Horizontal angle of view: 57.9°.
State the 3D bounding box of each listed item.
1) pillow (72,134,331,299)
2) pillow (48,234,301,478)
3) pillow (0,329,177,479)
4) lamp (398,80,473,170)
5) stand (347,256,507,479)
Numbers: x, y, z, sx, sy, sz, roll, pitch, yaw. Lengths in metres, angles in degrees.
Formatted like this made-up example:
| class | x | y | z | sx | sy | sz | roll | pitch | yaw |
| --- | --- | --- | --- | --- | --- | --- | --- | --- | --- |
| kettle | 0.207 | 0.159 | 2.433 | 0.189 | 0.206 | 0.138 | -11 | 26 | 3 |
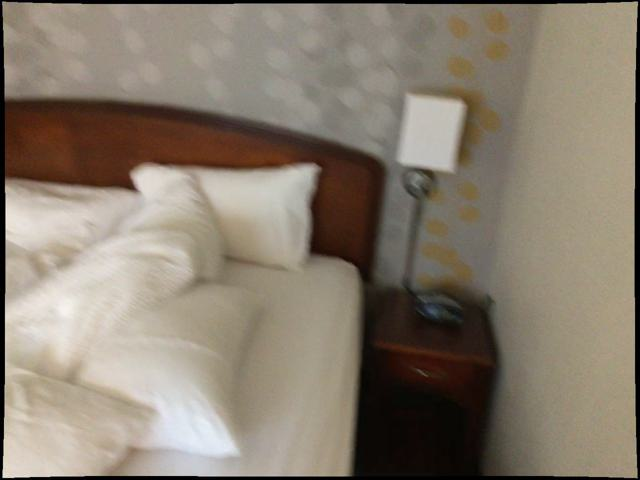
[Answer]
| class | x | y | z | sx | sy | sz | roll | pitch | yaw |
| --- | --- | --- | --- | --- | --- | --- | --- | --- | --- |
| pillow | -0.380 | -0.110 | 2.060 | 0.759 | 0.340 | 0.490 | 8 | 24 | 5 |
| pillow | -0.300 | 0.230 | 1.460 | 0.380 | 0.190 | 0.700 | 8 | 24 | 5 |
| pillow | -0.569 | 0.390 | 1.050 | 0.470 | 0.200 | 0.460 | 8 | 24 | 5 |
| lamp | 0.400 | -0.410 | 2.040 | 0.210 | 0.250 | 0.220 | 8 | 24 | 5 |
| stand | 0.380 | 0.470 | 2.200 | 0.440 | 0.570 | 0.590 | 8 | 24 | 5 |
